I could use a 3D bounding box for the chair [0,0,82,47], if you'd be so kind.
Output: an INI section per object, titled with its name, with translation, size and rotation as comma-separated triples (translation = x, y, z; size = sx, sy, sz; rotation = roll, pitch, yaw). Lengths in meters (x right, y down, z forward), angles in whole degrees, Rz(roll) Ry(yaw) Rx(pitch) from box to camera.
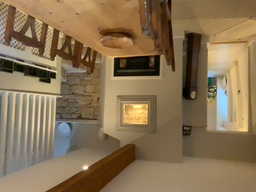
[chair]
translation = -0.680, -0.940, 1.720
size = 0.460, 0.960, 0.460
rotation = 1, 177, 13

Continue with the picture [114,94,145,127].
[picture]
translation = 0.030, 0.290, 4.230
size = 0.620, 0.630, 0.060
rotation = 1, 177, 14
